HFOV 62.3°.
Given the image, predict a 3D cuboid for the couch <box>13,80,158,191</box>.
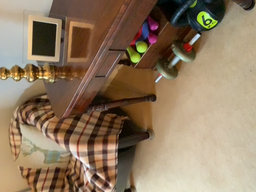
[{"bbox_3d":[-0.380,0.370,1.630,0.870,0.690,0.780,23,112,46],"label":"couch"}]
